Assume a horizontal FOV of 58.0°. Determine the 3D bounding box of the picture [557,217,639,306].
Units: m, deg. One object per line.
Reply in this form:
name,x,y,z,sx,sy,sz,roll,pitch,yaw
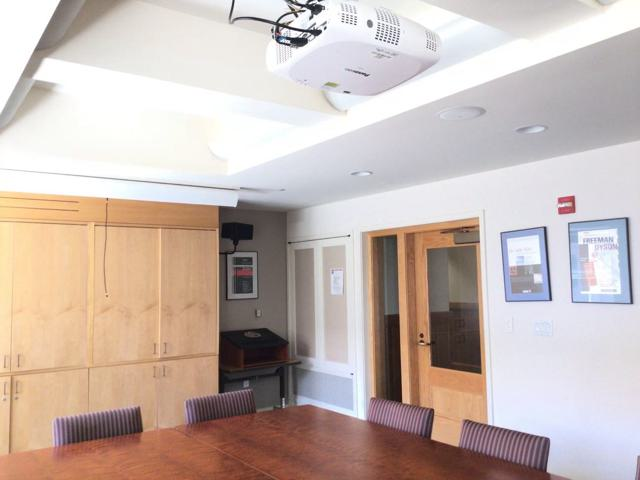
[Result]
picture,1.670,0.140,3.480,0.050,0.490,0.420,-6,-4,-35
